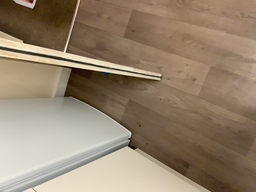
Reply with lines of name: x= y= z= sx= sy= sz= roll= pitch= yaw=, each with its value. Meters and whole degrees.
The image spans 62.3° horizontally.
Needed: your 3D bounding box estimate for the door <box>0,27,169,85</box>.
door: x=-0.590 y=-0.160 z=0.500 sx=0.760 sy=2.000 sz=0.080 roll=14 pitch=98 yaw=28
